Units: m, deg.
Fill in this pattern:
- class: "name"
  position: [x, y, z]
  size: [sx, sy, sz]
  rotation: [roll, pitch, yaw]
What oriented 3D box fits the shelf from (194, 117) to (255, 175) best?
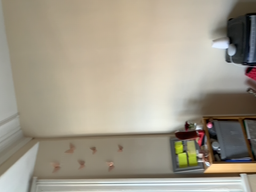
- class: "shelf"
  position: [1.170, 0.430, 1.800]
  size: [0.380, 1.060, 0.370]
  rotation: [82, -174, -57]
